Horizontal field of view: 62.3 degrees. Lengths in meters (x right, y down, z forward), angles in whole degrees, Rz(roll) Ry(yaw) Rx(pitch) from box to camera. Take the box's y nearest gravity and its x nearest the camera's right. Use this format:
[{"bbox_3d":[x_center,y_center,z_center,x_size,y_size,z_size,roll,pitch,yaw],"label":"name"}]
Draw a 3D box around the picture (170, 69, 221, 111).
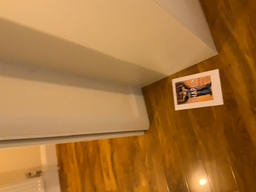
[{"bbox_3d":[0.410,-0.030,1.320,0.290,0.020,0.210,-11,78,36],"label":"picture"}]
